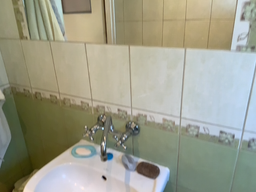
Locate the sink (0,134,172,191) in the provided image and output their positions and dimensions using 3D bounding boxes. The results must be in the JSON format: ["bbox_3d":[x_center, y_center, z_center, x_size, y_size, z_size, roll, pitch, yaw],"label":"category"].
[{"bbox_3d":[-0.150,0.390,0.860,0.540,0.170,0.400,10,26,27],"label":"sink"}]
